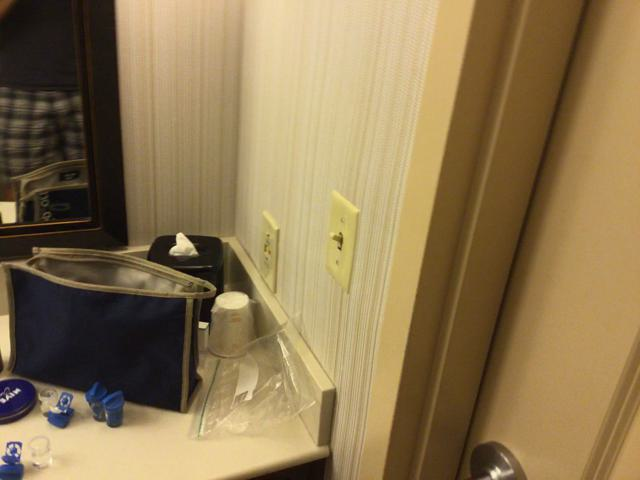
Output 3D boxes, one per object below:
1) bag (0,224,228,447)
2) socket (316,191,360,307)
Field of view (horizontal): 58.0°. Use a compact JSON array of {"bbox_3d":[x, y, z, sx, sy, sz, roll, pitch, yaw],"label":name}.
[{"bbox_3d":[-0.330,0.130,0.890,0.310,0.200,0.210,10,24,13],"label":"bag"},{"bbox_3d":[0.020,0.010,0.710,0.010,0.120,0.080,-6,25,-23],"label":"socket"}]
